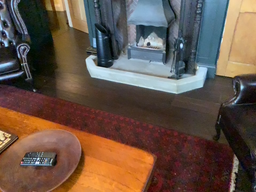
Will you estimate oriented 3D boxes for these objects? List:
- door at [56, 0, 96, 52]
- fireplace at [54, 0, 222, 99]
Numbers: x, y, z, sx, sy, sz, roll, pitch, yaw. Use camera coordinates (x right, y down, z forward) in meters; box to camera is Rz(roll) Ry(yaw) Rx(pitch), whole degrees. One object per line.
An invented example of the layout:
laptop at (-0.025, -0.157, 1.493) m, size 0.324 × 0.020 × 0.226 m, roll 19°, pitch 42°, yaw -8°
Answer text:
door at (-1.110, -2.050, 3.940) m, size 0.140 × 2.300 × 0.980 m, roll -31°, pitch 44°, yaw -33°
fireplace at (0.190, -0.980, 2.630) m, size 1.690 × 1.300 × 1.130 m, roll 13°, pitch 38°, yaw 21°
